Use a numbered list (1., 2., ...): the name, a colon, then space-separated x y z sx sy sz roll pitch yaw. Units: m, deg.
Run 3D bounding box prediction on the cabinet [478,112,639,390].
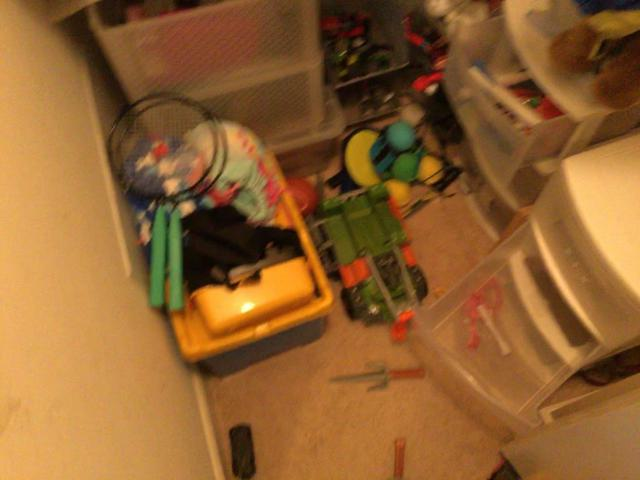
1. cabinet: 0.630 0.020 1.160 0.400 0.450 0.350 -16 64 -8
